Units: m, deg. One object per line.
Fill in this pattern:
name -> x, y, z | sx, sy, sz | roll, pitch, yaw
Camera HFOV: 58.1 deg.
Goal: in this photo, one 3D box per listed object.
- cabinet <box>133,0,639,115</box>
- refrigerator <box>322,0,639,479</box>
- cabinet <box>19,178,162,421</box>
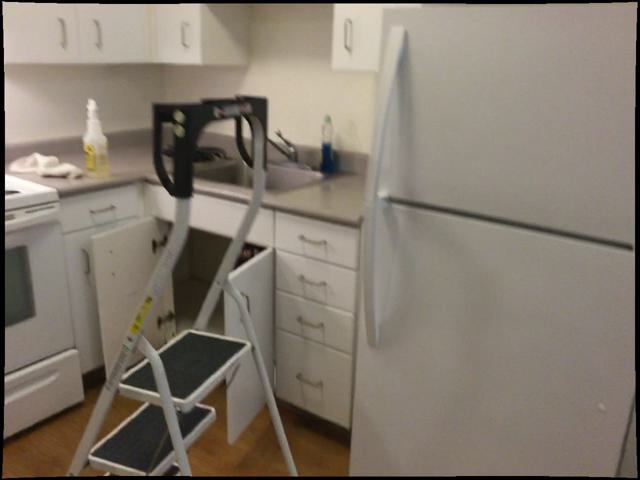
cabinet -> 0.130, -1.043, 2.150 | 2.097, 0.872, 0.400 | 15, 24, 32
refrigerator -> 0.419, 0.211, 1.490 | 0.849, 1.544, 0.150 | 15, 24, 32
cabinet -> -0.918, 0.231, 2.390 | 0.160, 0.892, 0.460 | 15, 24, 32
